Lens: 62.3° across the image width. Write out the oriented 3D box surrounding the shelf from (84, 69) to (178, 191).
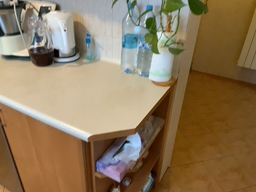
[{"bbox_3d":[0.030,0.360,1.140,0.170,0.850,0.560,18,34,23],"label":"shelf"}]
